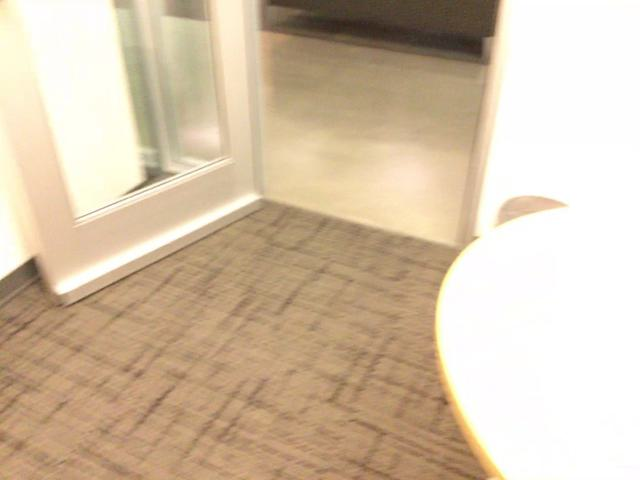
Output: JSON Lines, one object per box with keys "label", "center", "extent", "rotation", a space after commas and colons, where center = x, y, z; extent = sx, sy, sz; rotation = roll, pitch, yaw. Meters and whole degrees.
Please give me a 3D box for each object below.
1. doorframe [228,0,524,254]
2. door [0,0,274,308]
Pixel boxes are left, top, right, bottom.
{"label": "doorframe", "center": [0.160, -0.920, 1.850], "extent": [0.980, 1.980, 0.170], "rotation": [14, 37, 19]}
{"label": "door", "center": [-0.540, -0.790, 1.660], "extent": [0.110, 1.970, 0.930], "rotation": [29, 44, 33]}
